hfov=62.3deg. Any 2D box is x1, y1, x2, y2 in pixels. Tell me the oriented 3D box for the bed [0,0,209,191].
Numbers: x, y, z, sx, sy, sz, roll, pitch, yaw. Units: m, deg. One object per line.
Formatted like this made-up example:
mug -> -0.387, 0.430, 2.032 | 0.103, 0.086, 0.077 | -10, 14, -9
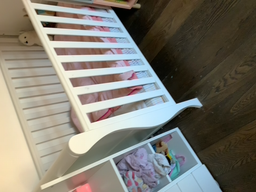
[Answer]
bed -> -0.360, -0.220, 1.600 | 0.750, 1.070, 1.460 | -49, 63, 41
